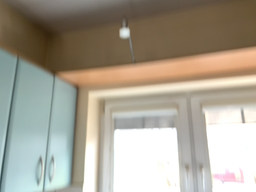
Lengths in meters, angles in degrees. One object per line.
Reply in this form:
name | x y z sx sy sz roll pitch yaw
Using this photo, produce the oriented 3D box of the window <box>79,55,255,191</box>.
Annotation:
window | 0.380 0.500 1.410 1.480 1.420 0.210 -6 -15 19
